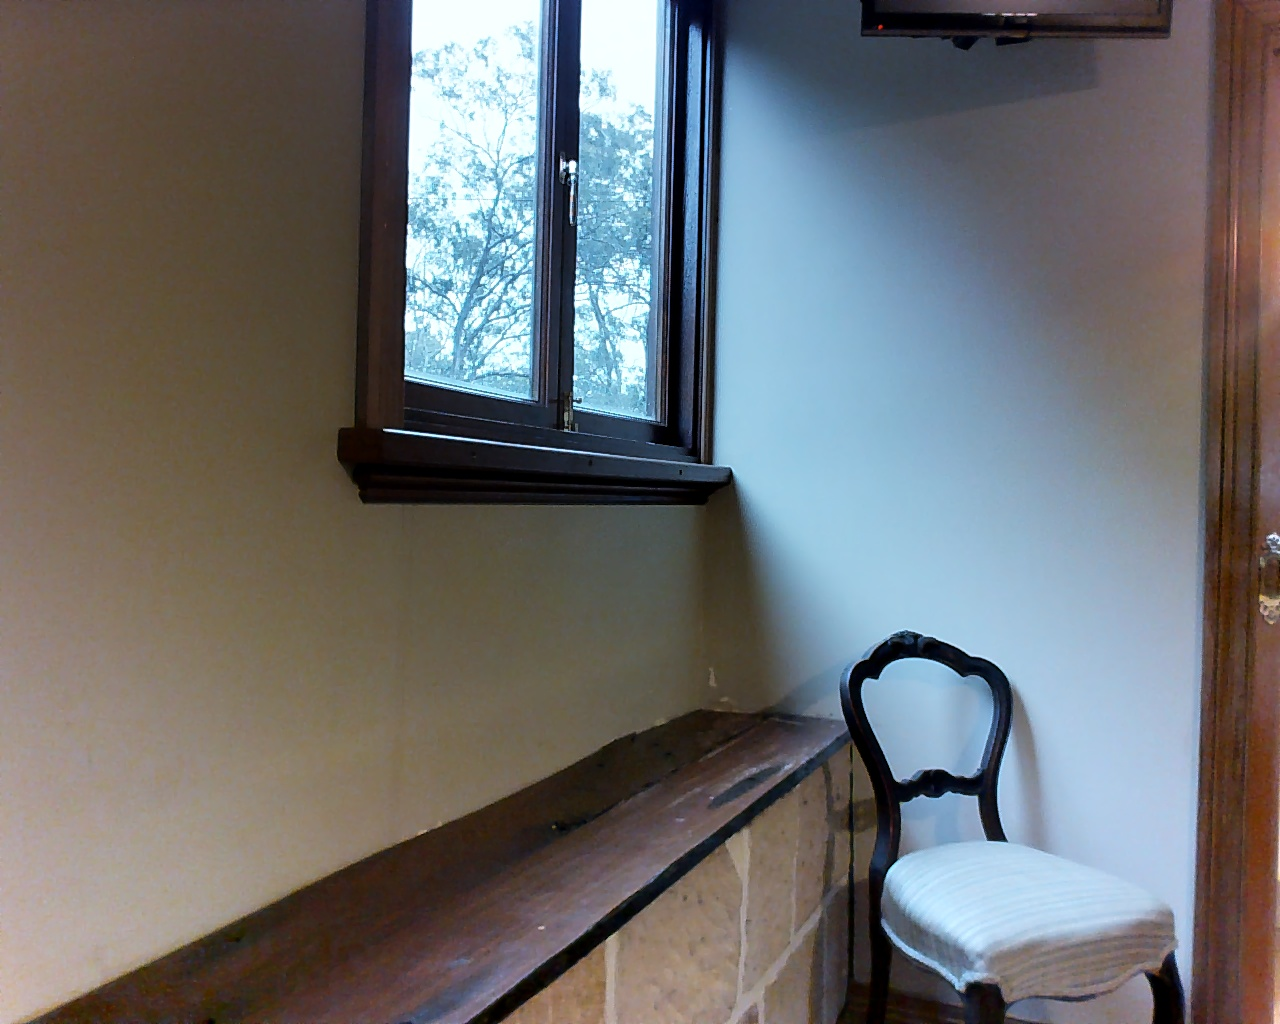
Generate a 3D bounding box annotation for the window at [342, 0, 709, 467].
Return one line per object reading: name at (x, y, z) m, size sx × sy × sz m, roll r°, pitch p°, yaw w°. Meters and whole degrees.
window at (-0.120, -0.680, 1.980) m, size 0.070 × 1.141 × 1.190 m, roll 1°, pitch 0°, yaw 23°
